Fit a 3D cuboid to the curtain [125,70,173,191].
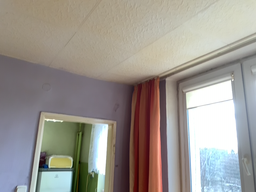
[{"bbox_3d":[0.200,0.710,2.130,0.180,1.890,0.480,14,-19,-38],"label":"curtain"}]
